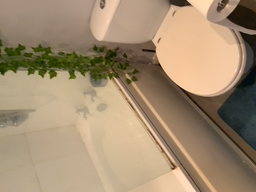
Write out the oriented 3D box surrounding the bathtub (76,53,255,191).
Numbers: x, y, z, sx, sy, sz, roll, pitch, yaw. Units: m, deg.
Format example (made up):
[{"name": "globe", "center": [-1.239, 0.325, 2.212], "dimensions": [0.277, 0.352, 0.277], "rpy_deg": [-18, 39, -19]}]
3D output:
[{"name": "bathtub", "center": [0.320, 0.550, 1.310], "dimensions": [1.630, 0.540, 0.730], "rpy_deg": [56, 132, 30]}]
